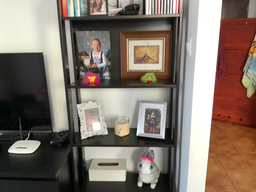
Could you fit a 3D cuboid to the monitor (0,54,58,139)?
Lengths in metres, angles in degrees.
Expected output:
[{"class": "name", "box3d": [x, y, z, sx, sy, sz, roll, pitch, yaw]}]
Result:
[{"class": "monitor", "box3d": [-0.950, 0.010, 1.380, 0.930, 0.550, 0.050, 0, 16, 3]}]

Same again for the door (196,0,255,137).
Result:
[{"class": "door", "box3d": [1.600, -0.730, 3.220, 0.910, 2.670, 0.130, 11, 20, 35]}]

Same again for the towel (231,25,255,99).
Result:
[{"class": "towel", "box3d": [1.730, -0.490, 3.050, 0.300, 1.010, 0.170, 12, 20, 37]}]
